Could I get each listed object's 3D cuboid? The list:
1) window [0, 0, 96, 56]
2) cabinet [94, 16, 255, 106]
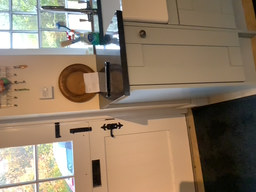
[{"bbox_3d":[-0.840,-0.770,1.930,0.080,1.020,0.800,144,121,-67],"label":"window"},{"bbox_3d":[0.300,-0.170,1.430,0.640,0.930,0.360,156,111,-69],"label":"cabinet"}]
